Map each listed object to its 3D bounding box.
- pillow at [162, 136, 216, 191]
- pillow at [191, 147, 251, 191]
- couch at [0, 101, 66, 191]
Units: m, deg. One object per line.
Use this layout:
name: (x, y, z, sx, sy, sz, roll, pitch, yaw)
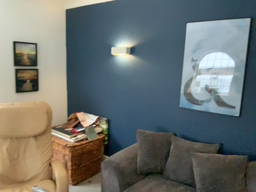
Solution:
pillow: (0.620, 0.680, 2.180, 0.420, 0.430, 0.160, 12, -2, 33)
pillow: (0.840, 0.720, 1.930, 0.430, 0.400, 0.160, 8, -2, 28)
couch: (-1.010, 0.720, 2.000, 0.660, 1.130, 1.080, -3, 11, -24)
